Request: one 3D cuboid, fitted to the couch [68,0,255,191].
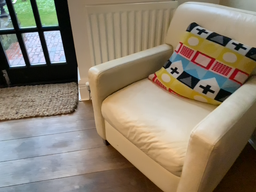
[{"bbox_3d":[0.290,-0.020,1.220,0.810,0.790,0.800,-30,45,-34],"label":"couch"}]
